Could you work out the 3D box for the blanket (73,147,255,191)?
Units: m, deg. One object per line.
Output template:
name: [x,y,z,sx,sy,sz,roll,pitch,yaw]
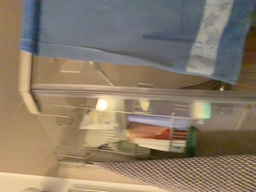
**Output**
blanket: [0.330,0.320,0.770,0.260,0.990,0.190,70,-156,-74]
